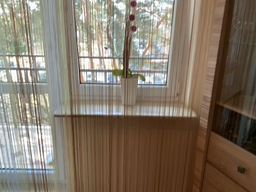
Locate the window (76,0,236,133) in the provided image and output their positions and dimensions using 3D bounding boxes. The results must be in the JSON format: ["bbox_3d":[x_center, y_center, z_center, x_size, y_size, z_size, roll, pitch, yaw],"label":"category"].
[{"bbox_3d":[0.150,-0.560,1.180,0.840,1.600,0.160,2,18,0],"label":"window"}]
